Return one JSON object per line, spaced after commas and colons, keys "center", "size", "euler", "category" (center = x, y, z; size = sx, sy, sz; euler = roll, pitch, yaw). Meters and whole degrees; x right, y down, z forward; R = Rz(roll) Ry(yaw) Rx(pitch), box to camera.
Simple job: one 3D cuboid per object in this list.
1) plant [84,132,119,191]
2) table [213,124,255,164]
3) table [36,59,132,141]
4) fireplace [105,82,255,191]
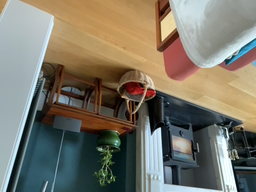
{"center": [-0.300, 0.780, 2.490], "size": [0.270, 0.610, 0.280], "euler": [19, 146, -28], "category": "plant"}
{"center": [2.140, 0.890, 3.780], "size": [1.050, 0.410, 0.590], "euler": [18, 146, -27], "category": "table"}
{"center": [-0.490, 0.110, 2.430], "size": [0.830, 0.510, 0.690], "euler": [18, 146, -27], "category": "table"}
{"center": [0.760, 0.860, 2.900], "size": [1.800, 1.300, 1.020], "euler": [18, 146, -27], "category": "fireplace"}
